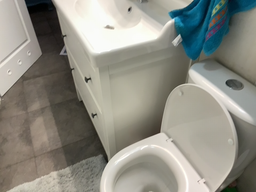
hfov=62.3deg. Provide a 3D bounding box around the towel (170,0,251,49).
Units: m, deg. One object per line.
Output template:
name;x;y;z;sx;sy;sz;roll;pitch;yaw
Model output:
towel;0.280;-0.330;0.720;0.140;0.240;0.200;-24;48;-23

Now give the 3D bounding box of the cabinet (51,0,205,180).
cabinet;-0.070;-0.110;1.360;0.480;0.830;0.820;-18;46;-18

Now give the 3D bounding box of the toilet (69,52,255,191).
toilet;0.160;0.320;0.920;0.580;0.800;0.400;-18;46;-18
